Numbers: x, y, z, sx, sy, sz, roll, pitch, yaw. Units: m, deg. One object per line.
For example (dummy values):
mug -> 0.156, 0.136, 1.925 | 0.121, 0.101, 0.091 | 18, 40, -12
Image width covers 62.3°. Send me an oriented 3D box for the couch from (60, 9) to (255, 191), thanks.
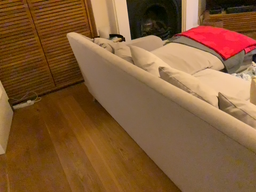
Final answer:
couch -> 0.410, -0.030, 1.530 | 1.050, 0.760, 2.150 | -22, 34, -22
